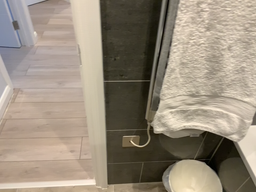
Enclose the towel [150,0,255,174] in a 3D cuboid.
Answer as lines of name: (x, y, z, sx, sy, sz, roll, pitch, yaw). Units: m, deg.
towel: (0.300, -0.080, 0.630, 0.340, 0.930, 0.190, 2, 43, -3)
